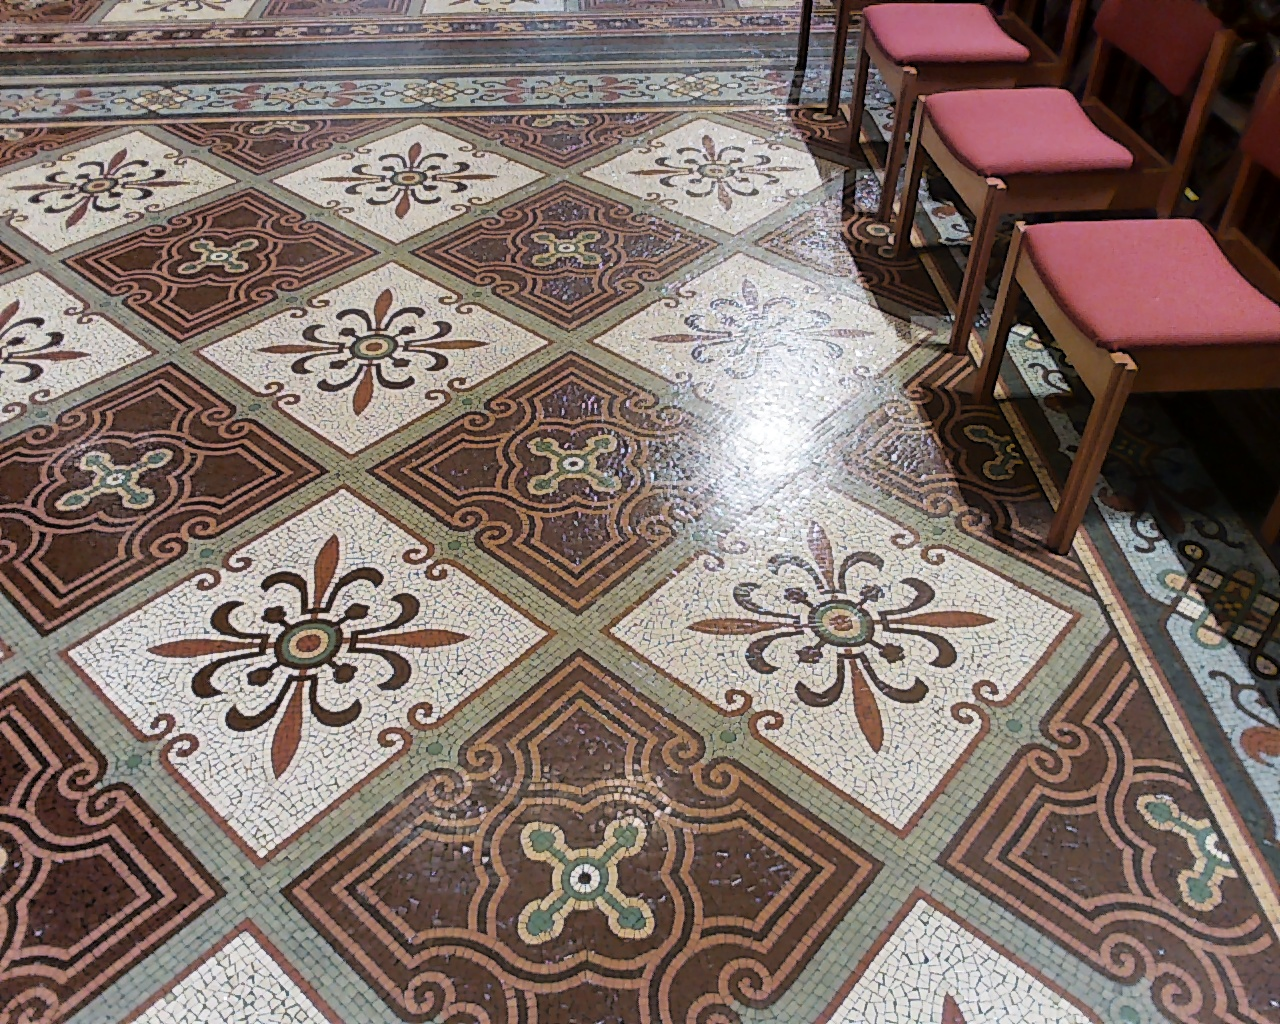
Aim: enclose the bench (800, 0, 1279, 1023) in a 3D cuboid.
[{"bbox_3d":[1.210,-1.120,2.450,0.920,1.440,3.930,-2,43,-2],"label":"bench"}]
